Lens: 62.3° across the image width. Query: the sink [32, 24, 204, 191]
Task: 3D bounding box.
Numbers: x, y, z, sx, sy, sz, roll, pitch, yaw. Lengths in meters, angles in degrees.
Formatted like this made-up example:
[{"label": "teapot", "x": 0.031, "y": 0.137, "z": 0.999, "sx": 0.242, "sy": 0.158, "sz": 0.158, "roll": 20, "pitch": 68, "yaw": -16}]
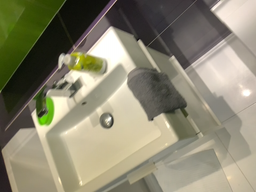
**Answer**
[{"label": "sink", "x": -0.100, "y": 0.110, "z": 0.880, "sx": 0.600, "sy": 0.180, "sz": 0.470, "roll": -39, "pitch": 67, "yaw": 27}]
